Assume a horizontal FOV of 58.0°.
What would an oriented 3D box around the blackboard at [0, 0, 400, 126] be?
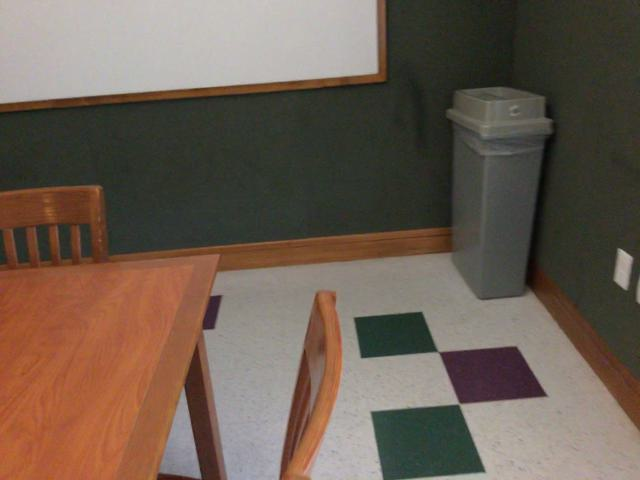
[{"bbox_3d":[-0.630,-1.120,2.380,1.900,1.140,0.190,-5,24,-3],"label":"blackboard"}]
